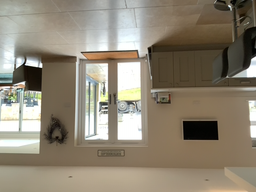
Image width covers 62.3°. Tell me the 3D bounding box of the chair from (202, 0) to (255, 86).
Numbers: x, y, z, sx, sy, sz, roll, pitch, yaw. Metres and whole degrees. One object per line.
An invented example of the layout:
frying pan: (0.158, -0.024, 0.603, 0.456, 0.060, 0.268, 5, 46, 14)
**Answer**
chair: (1.240, -0.680, 2.690, 0.430, 1.040, 0.490, 0, 174, 4)

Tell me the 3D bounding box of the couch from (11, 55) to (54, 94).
couch: (-2.490, -0.510, 5.510, 0.870, 0.780, 0.730, -6, 172, 44)

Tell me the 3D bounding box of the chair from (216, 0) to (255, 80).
chair: (1.210, -0.730, 2.120, 0.450, 1.060, 0.490, 0, 174, 4)
